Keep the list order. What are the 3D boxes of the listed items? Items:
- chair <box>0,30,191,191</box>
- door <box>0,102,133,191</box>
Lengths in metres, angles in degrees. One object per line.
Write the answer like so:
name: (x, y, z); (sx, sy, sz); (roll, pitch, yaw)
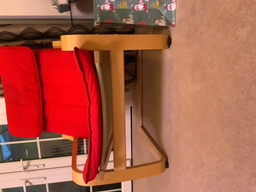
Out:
chair: (-0.310, 0.000, 1.200); (0.820, 0.960, 0.690); (-126, 34, -71)
door: (-0.940, 0.770, 1.910); (0.060, 1.990, 1.330); (-133, 41, -73)
